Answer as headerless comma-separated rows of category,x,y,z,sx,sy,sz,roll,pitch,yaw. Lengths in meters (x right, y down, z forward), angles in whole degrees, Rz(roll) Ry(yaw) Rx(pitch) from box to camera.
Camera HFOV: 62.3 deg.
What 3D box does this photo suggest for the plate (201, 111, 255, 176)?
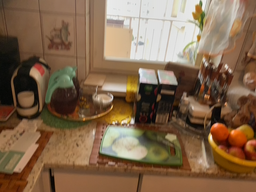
plate,0.470,0.200,0.930,0.200,0.160,0.220,6,27,0
